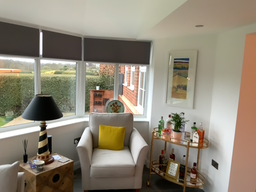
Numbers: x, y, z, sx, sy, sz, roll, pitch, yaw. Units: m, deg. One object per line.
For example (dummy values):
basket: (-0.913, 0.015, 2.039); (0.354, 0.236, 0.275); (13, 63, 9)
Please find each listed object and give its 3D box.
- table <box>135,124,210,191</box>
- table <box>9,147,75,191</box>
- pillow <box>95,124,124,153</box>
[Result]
table: (0.610, 0.900, 3.010); (0.840, 0.770, 0.500); (9, 9, 39)
table: (-1.030, 0.990, 2.560); (0.530, 0.500, 0.520); (9, 9, 35)
pillow: (-0.280, 0.630, 3.180); (0.410, 0.360, 0.240); (3, 7, -6)
